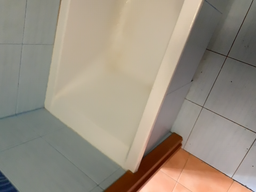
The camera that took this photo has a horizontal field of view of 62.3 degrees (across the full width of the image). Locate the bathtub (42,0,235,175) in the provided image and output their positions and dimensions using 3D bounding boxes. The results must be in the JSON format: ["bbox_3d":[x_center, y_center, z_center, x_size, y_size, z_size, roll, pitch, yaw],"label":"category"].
[{"bbox_3d":[0.120,-0.520,1.100,0.690,0.580,1.580,29,115,25],"label":"bathtub"}]
